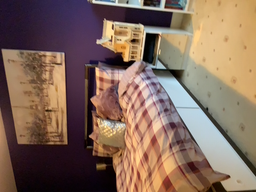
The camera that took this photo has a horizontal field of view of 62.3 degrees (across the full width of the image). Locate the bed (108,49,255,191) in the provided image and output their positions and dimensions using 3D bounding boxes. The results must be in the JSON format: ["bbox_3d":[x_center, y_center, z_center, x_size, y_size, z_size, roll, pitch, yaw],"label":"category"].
[{"bbox_3d":[0.250,0.610,2.230,2.000,0.730,1.660,-107,20,-61],"label":"bed"}]
